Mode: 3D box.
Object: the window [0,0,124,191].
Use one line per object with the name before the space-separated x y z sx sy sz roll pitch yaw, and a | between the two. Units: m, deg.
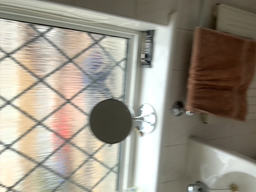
window | -0.510 0.140 0.710 0.040 1.090 0.970 9 98 58
